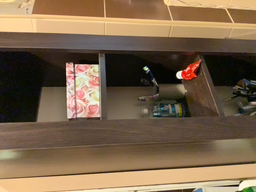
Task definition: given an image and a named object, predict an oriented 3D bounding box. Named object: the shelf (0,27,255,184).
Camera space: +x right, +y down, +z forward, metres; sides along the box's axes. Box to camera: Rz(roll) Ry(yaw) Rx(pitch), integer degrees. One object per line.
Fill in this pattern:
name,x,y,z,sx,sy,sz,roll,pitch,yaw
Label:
shelf,0.060,0.030,0.780,0.310,1.110,0.420,103,164,-55
